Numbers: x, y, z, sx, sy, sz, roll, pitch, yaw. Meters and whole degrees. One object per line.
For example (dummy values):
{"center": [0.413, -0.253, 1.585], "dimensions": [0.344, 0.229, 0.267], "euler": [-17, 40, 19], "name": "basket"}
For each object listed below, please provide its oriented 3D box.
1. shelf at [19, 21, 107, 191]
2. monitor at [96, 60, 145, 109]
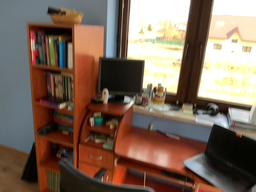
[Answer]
{"center": [-0.540, 0.210, 1.930], "dimensions": [0.470, 1.640, 0.480], "euler": [10, 19, 18], "name": "shelf"}
{"center": [-0.070, -0.090, 1.810], "dimensions": [0.390, 0.410, 0.050], "euler": [1, 18, -9], "name": "monitor"}
